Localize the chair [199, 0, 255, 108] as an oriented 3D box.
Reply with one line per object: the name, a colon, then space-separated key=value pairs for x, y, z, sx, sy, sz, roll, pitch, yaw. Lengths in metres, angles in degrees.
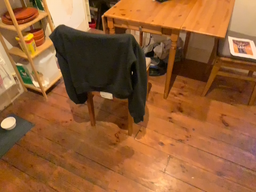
chair: x=1.010 y=-0.420 z=1.800 sx=0.550 sy=0.890 sz=0.480 roll=13 pitch=47 yaw=13

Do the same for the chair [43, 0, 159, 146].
chair: x=-0.120 y=-0.170 z=1.560 sx=0.510 sy=0.910 sz=0.540 roll=12 pitch=47 yaw=12
